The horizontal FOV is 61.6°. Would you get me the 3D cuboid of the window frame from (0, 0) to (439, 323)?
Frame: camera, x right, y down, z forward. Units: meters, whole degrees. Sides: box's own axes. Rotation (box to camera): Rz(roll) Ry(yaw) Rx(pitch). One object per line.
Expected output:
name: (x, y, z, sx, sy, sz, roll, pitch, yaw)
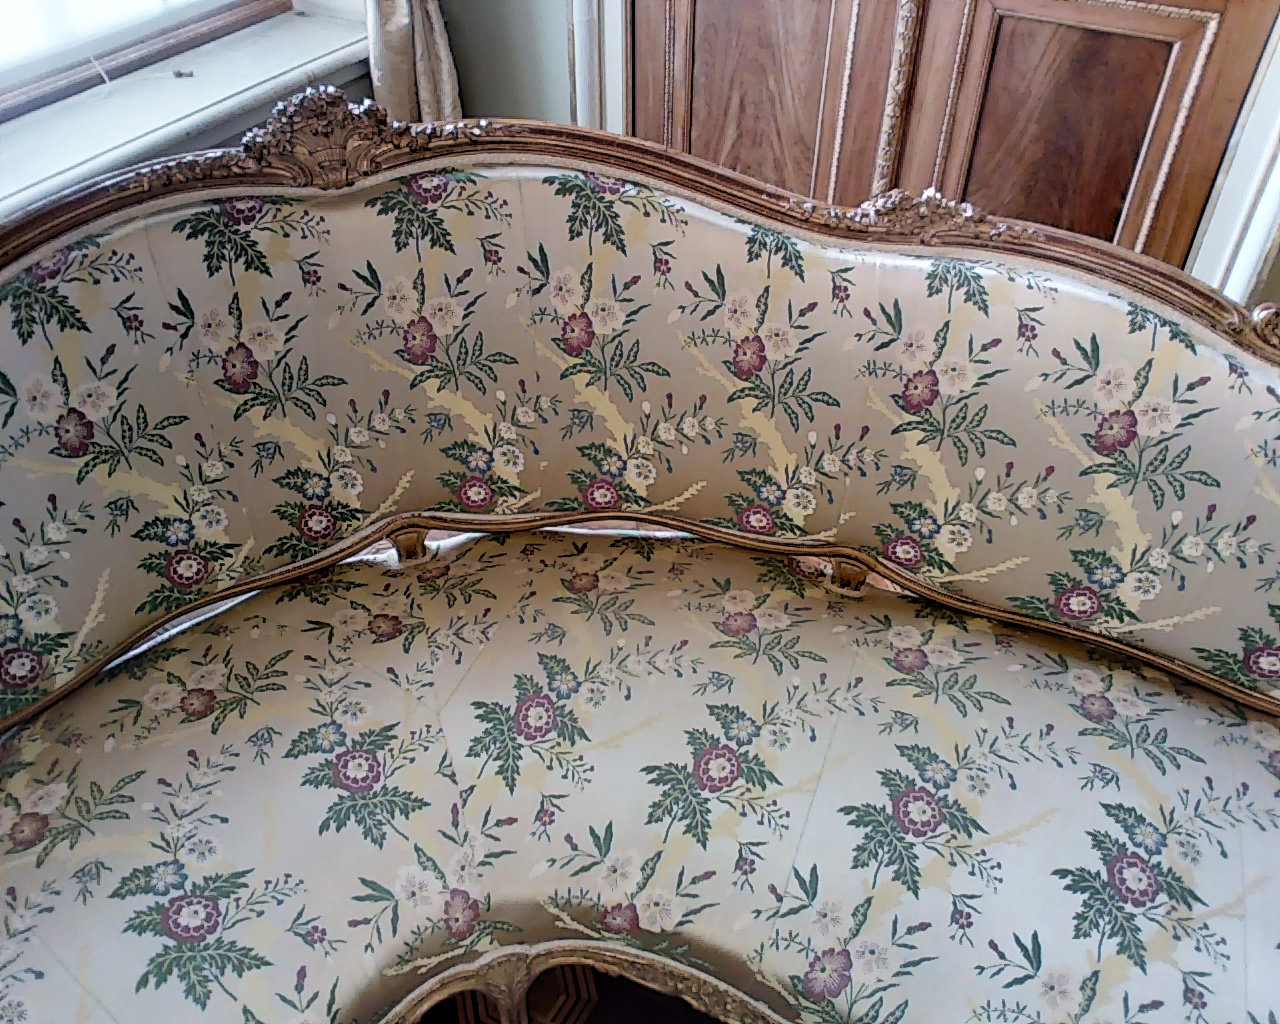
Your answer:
window frame: (-1.090, -0.950, 2.510, 0.400, 0.340, 1.380, 22, 47, 23)
